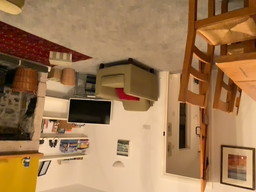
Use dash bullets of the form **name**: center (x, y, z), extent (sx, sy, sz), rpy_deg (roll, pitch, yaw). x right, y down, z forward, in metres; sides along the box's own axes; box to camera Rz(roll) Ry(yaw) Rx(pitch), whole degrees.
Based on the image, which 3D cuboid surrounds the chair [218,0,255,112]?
- **chair**: center (1.040, -0.340, 1.680), extent (0.500, 0.900, 0.410), rpy_deg (-4, 169, 37)

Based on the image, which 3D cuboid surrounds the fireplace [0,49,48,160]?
- **fireplace**: center (-2.460, 0.100, 3.270), extent (0.790, 1.700, 2.020), rpy_deg (-3, 170, 36)

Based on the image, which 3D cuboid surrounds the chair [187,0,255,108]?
- **chair**: center (0.690, -0.400, 1.320), extent (0.490, 0.900, 0.420), rpy_deg (-5, 169, 39)

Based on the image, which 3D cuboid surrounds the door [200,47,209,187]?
- **door**: center (1.110, 0.280, 3.050), extent (0.080, 1.780, 0.740), rpy_deg (-1, 171, 24)
